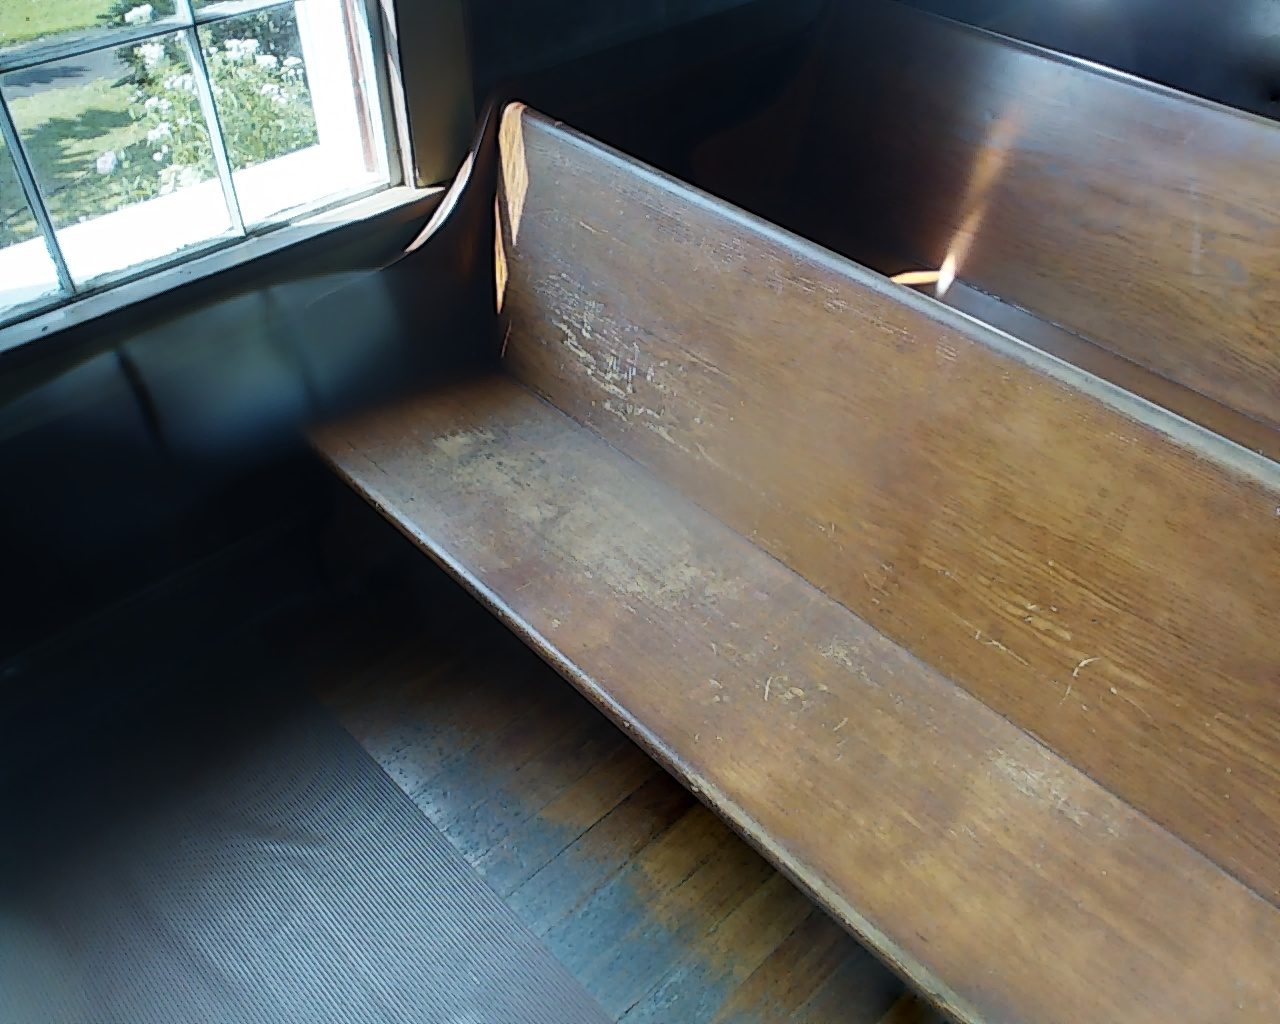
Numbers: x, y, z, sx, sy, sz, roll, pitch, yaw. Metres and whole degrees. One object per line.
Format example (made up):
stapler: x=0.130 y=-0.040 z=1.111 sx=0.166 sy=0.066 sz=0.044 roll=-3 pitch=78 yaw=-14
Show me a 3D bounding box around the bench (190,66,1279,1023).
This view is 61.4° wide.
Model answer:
bench: x=0.340 y=0.270 z=1.360 sx=0.590 sy=0.880 sz=2.220 roll=-32 pitch=52 yaw=-31
